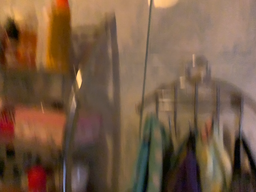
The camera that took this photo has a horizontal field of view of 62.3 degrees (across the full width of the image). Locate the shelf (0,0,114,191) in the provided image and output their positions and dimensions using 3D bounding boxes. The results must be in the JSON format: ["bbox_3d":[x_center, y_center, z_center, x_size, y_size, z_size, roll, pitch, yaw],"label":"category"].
[{"bbox_3d":[-0.330,0.010,0.610,0.510,0.490,0.190,5,0,23],"label":"shelf"}]
